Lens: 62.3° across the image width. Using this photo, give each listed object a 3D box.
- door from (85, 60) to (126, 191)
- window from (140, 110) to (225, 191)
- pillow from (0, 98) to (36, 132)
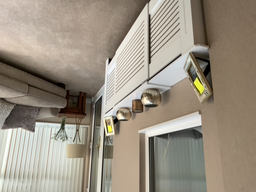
[{"bbox_3d":[-0.410,0.730,3.500,0.140,2.180,1.550,7,162,-22],"label":"door"},{"bbox_3d":[0.310,0.660,1.480,0.100,0.960,0.860,7,162,-20],"label":"window"},{"bbox_3d":[-1.910,0.340,3.660,0.520,0.500,0.260,5,-163,-28],"label":"pillow"}]
